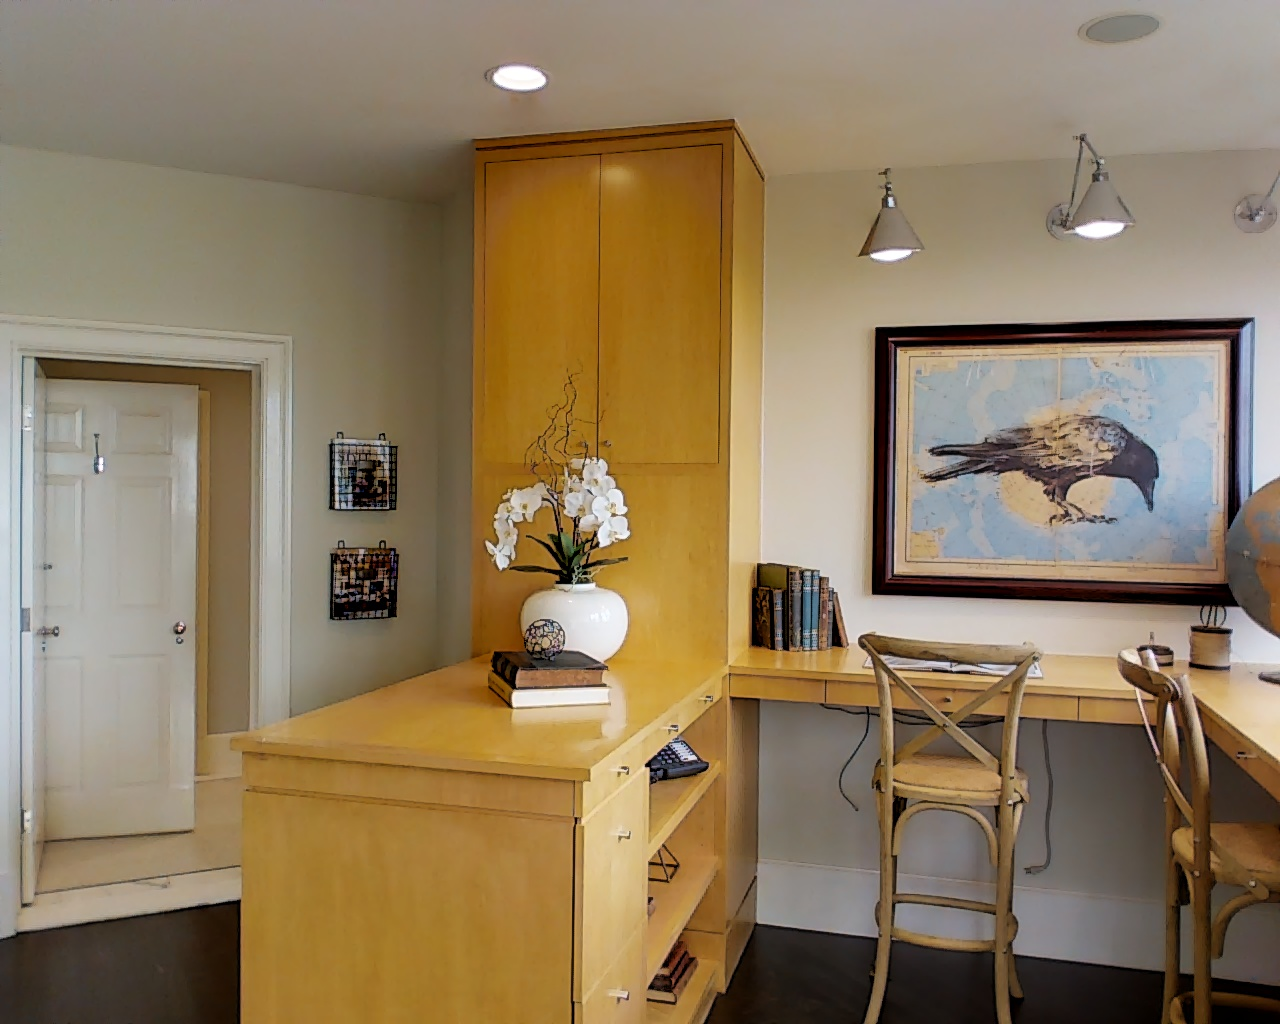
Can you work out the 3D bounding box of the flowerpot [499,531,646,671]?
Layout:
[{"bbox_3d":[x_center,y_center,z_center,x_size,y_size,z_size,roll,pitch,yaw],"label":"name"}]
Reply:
[{"bbox_3d":[-0.200,0.260,3.320,0.350,0.390,0.360,1,0,15],"label":"flowerpot"}]
